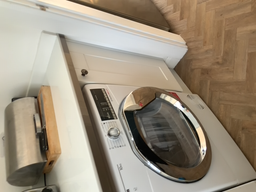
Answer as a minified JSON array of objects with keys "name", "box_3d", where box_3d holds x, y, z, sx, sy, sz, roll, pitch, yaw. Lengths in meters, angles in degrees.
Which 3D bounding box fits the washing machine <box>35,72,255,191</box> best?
[{"name":"washing machine","box_3d":[0.070,0.360,1.170,0.640,0.910,0.600,-54,47,37]}]
